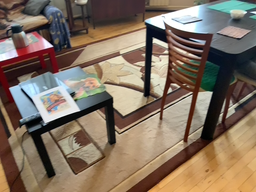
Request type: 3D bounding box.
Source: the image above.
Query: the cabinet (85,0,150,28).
[{"bbox_3d":[-0.190,-1.820,3.900,1.100,0.840,0.500,-14,39,-17],"label":"cabinet"}]
